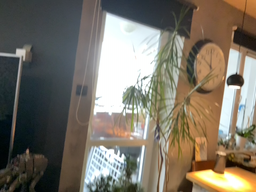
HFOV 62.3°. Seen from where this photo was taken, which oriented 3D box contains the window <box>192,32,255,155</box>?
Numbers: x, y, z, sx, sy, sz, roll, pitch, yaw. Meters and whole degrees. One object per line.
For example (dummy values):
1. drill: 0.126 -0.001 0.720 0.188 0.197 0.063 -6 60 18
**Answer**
1. window: 1.530 0.030 3.100 1.180 1.620 0.140 7 2 -28
